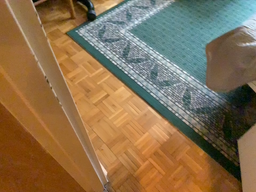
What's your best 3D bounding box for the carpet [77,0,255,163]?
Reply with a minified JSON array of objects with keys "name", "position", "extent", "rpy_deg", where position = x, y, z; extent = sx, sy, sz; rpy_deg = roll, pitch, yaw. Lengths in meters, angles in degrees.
[{"name":"carpet","position":[0.770,-0.630,1.720],"extent":[1.870,0.080,1.410],"rpy_deg":[-37,64,-21]}]
